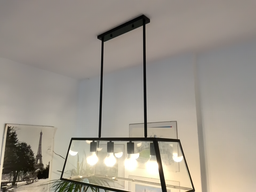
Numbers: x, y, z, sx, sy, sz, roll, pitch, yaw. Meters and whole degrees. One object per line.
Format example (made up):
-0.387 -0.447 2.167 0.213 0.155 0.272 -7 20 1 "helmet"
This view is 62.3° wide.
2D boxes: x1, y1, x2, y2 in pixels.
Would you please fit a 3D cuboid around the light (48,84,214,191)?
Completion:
0.010 0.440 1.530 0.360 0.910 0.980 -91 1 -65 "light"
